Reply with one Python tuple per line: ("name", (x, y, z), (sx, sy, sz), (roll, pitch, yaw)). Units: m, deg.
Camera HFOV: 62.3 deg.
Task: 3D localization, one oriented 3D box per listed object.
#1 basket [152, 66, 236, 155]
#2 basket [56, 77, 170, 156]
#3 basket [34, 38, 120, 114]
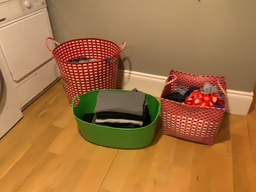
("basket", (0.440, 0.070, 1.460), (0.440, 0.330, 0.450), (11, 37, 15))
("basket", (-0.070, 0.120, 1.390), (0.620, 0.320, 0.370), (2, 36, 4))
("basket", (-0.350, -0.170, 1.700), (0.550, 0.430, 0.440), (-2, 36, -2))
